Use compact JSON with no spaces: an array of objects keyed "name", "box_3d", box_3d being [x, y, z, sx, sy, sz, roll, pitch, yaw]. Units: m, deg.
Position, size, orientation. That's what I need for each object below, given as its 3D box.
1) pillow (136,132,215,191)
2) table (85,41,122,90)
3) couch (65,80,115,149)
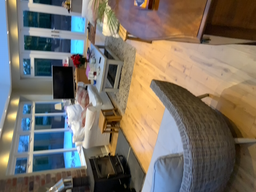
[{"name":"pillow","box_3d":[0.290,0.670,1.560,0.180,0.450,0.780,37,119,40]},{"name":"table","box_3d":[-0.560,-0.680,4.500,1.250,0.400,0.640,-128,43,-56]},{"name":"couch","box_3d":[-0.990,0.350,5.020,1.550,0.790,0.930,-128,43,-56]}]
